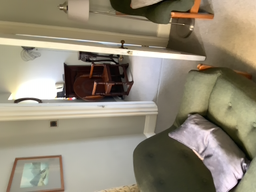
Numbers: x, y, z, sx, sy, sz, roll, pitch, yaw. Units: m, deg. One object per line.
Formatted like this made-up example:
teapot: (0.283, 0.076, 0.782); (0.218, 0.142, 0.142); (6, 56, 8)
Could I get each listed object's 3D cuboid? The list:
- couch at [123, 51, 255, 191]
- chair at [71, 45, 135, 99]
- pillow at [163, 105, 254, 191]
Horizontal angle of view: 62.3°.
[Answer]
couch: (0.550, 0.310, 1.320); (0.840, 0.820, 0.870); (-121, 36, -53)
chair: (-0.510, -0.420, 4.000); (0.690, 0.990, 0.690); (125, 140, -57)
pillow: (0.470, 0.350, 1.390); (0.610, 0.150, 0.270); (-116, 42, -54)
